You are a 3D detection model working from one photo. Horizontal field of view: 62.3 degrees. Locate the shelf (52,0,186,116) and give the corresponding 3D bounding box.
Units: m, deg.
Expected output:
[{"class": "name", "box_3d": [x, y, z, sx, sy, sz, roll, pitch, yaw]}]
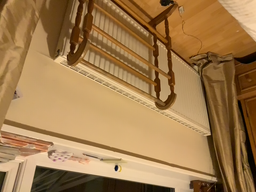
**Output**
[{"class": "shelf", "box_3d": [0.010, -0.330, 1.230, 0.710, 0.700, 0.190, 23, 146, -35]}]
